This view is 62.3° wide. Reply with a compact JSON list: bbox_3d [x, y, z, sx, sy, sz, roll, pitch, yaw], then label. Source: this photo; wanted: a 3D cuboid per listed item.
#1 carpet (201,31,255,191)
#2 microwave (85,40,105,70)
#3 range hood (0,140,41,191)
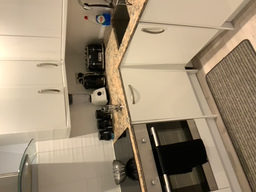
[{"bbox_3d":[0.970,0.310,1.650,0.630,0.020,1.480,131,133,-61],"label":"carpet"},{"bbox_3d":[-0.370,-0.450,2.370,0.210,0.170,0.290,178,89,-69],"label":"microwave"},{"bbox_3d":[-1.110,0.680,1.580,0.290,0.840,0.550,125,138,-58],"label":"range hood"}]
